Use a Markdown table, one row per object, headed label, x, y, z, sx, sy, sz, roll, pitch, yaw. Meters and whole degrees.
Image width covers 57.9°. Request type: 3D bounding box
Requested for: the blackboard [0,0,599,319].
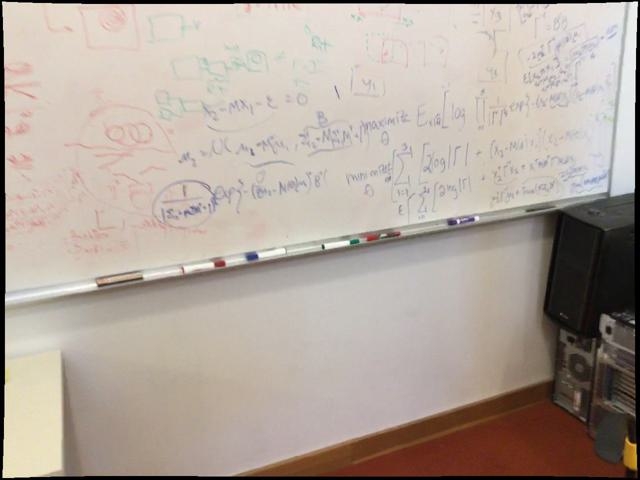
| label | x | y | z | sx | sy | sz | roll | pitch | yaw |
| --- | --- | --- | --- | --- | --- | --- | --- | --- | --- |
| blackboard | -0.270 | -0.531 | 1.680 | 2.838 | 1.301 | 0.100 | -10 | 20 | -23 |
